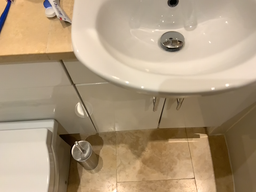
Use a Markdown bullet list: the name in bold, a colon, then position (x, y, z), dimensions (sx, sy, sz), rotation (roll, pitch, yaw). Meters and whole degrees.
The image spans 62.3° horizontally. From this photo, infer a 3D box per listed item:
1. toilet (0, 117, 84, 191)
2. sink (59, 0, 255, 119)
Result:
- **toilet**: position (-0.430, 0.400, 0.890), dimensions (0.380, 0.460, 0.450), rotation (-4, 62, -1)
- **sink**: position (0.120, -0.180, 0.550), dimensions (0.520, 0.140, 0.420), rotation (-4, 62, -1)
